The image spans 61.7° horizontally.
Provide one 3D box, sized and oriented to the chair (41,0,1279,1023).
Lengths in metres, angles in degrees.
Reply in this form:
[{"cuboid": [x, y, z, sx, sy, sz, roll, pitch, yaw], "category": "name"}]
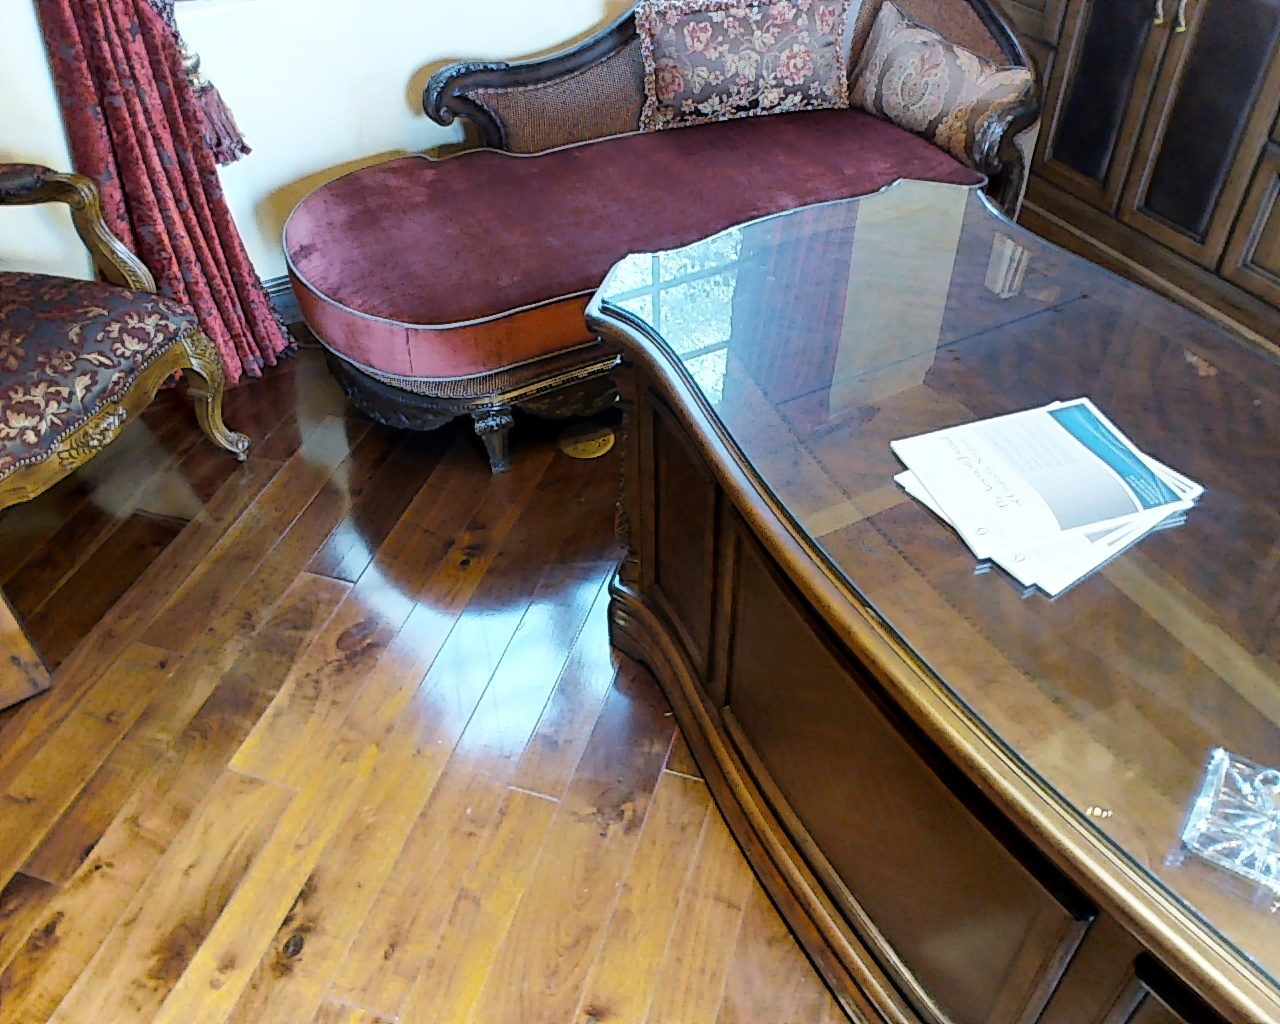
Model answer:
[{"cuboid": [0.340, -0.040, 1.910, 2.140, 1.050, 1.210, -20, 46, -19], "category": "chair"}]
